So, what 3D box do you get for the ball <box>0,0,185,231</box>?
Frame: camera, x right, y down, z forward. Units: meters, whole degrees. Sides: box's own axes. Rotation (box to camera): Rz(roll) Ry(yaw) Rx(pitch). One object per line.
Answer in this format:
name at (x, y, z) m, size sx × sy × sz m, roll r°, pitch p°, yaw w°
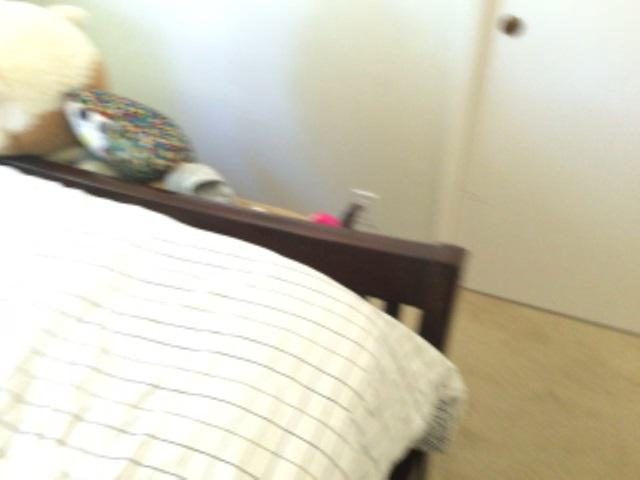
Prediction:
ball at (-0.660, -0.350, 1.340) m, size 0.430 × 0.390 × 0.440 m, roll 16°, pitch 43°, yaw 24°
